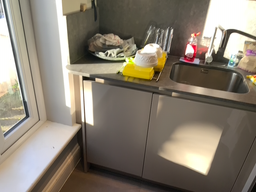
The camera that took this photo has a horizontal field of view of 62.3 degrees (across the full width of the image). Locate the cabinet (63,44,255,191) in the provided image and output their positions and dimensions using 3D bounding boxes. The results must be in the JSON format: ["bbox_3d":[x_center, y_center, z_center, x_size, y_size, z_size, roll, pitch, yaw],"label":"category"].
[{"bbox_3d":[0.230,0.190,1.660,1.210,0.880,0.600,11,30,12],"label":"cabinet"}]
